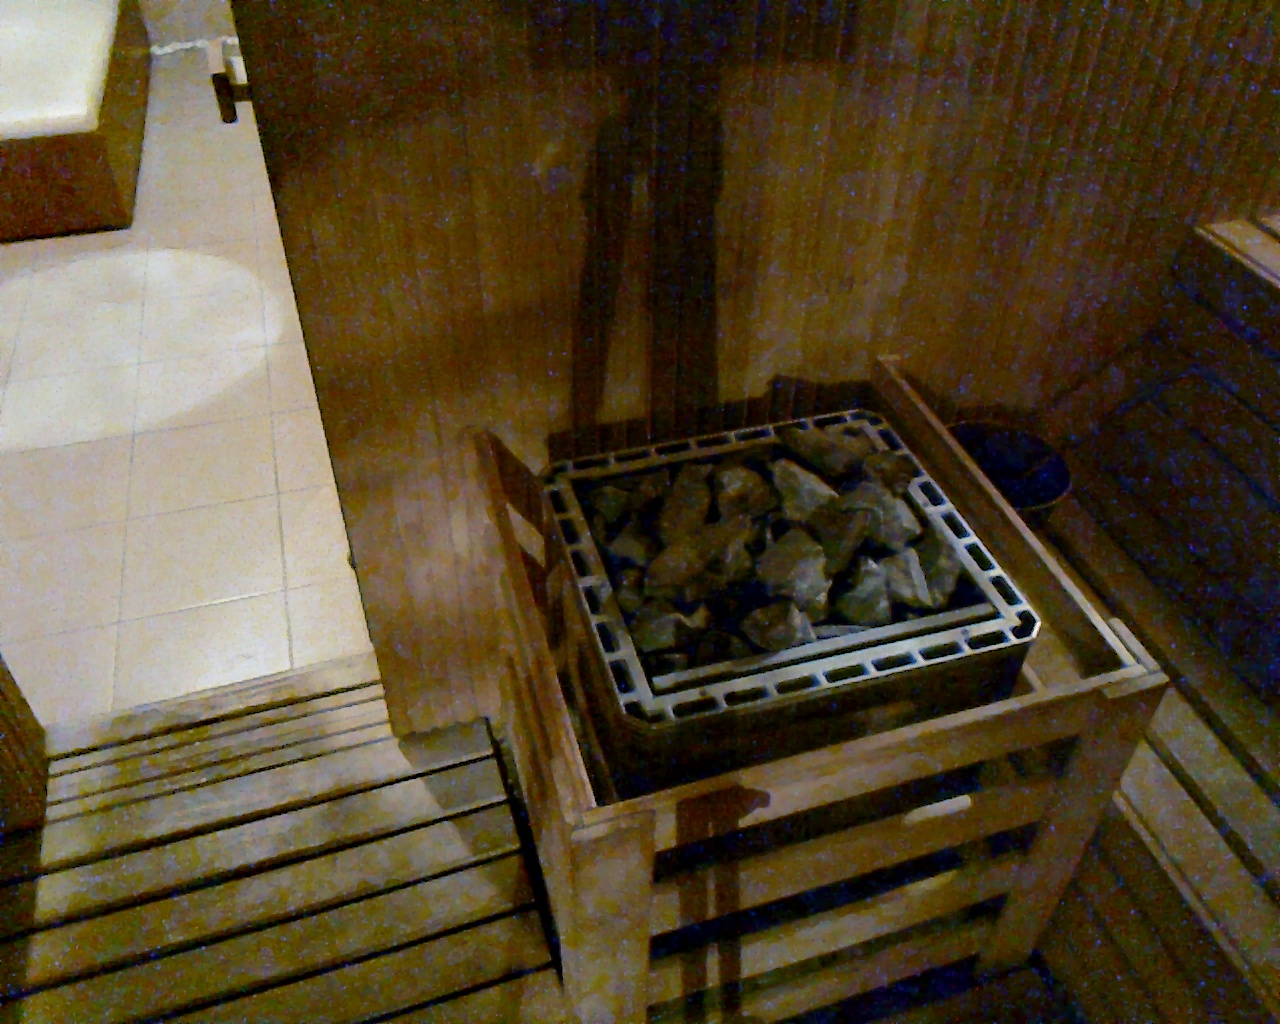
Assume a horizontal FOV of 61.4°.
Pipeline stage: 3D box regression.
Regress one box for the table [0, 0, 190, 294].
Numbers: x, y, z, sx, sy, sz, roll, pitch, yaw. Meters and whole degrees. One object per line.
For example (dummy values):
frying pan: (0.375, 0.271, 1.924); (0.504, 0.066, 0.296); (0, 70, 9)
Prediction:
table: (-1.840, -1.200, 3.250); (0.720, 0.760, 0.730); (-11, 43, -14)
